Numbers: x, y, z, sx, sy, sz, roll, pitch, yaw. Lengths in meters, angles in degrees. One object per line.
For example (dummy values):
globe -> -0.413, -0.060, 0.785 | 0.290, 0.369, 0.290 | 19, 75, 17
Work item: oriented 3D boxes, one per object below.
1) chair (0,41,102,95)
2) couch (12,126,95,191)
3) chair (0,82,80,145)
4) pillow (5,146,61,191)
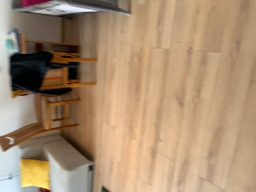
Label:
chair -> -0.860, -0.340, 2.370 | 0.580, 0.930, 0.440 | 20, 111, 45
couch -> -1.120, 1.620, 3.090 | 0.950, 0.720, 2.040 | 22, 112, 44
chair -> -1.190, 0.180, 2.820 | 0.470, 0.930, 0.580 | 21, 111, 45
pillow -> -1.290, 1.020, 2.930 | 0.170, 0.540, 0.430 | 19, 66, 43
